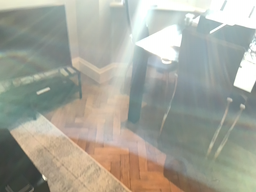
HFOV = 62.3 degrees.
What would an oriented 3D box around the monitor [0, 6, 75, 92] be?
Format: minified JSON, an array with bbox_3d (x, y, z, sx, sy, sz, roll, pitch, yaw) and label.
[{"bbox_3d":[-0.900,-0.320,1.610,0.980,0.610,0.030,-19,43,-27],"label":"monitor"}]

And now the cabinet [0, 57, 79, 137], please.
[{"bbox_3d":[-0.950,-0.010,1.950,0.350,0.300,0.960,30,44,29],"label":"cabinet"}]

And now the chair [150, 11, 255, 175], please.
[{"bbox_3d":[0.550,-0.010,1.540,0.420,0.990,0.540,30,44,29],"label":"chair"}]
